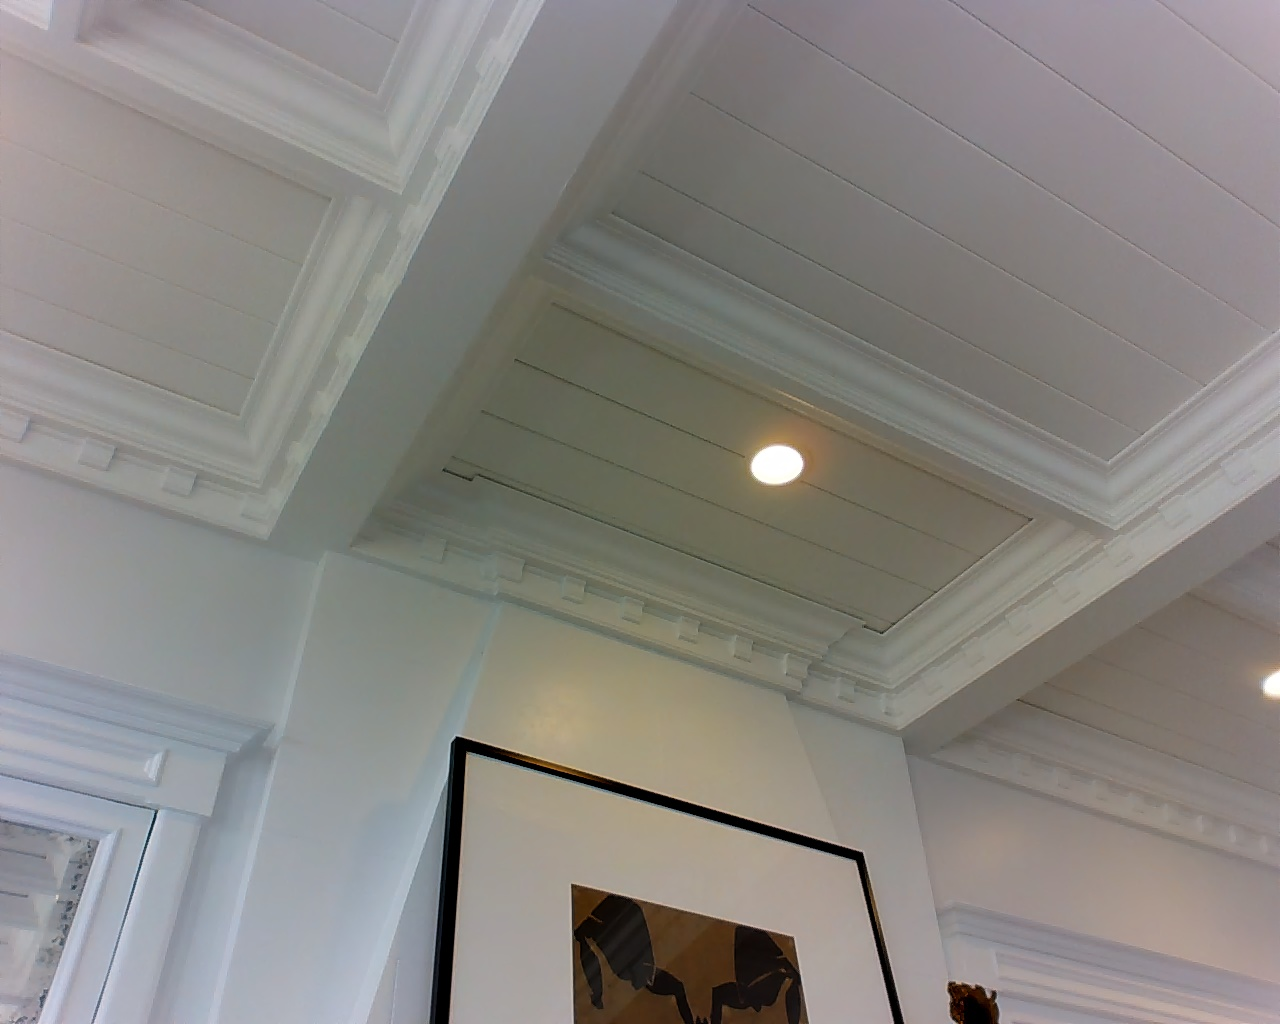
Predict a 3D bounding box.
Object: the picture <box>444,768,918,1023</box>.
[{"bbox_3d":[0.150,1.131,2.400,1.200,1.020,0.080,15,-44,-28],"label":"picture"}]
